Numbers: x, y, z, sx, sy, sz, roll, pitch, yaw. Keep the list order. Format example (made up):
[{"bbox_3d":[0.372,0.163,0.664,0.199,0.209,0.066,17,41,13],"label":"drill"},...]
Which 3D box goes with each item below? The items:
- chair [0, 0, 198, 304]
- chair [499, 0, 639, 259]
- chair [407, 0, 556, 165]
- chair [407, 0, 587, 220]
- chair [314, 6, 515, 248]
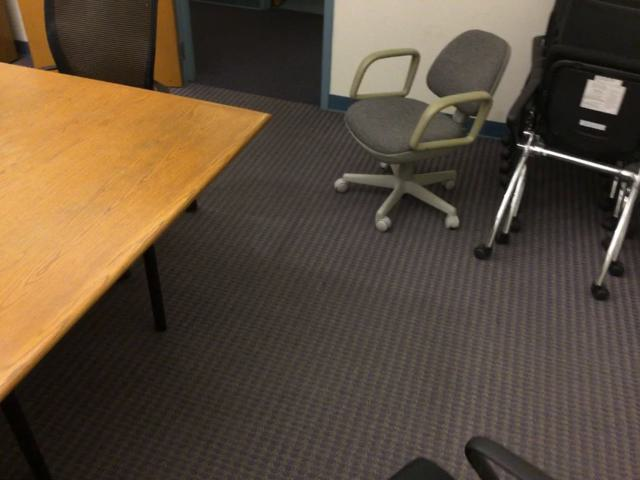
[{"bbox_3d":[-0.930,-0.370,2.140,0.630,0.910,0.630,11,39,13],"label":"chair"},{"bbox_3d":[1.070,-0.490,2.270,0.470,0.990,0.430,14,40,17],"label":"chair"},{"bbox_3d":[0.780,-0.990,2.780,0.550,1.140,0.370,11,39,13],"label":"chair"},{"bbox_3d":[0.660,-0.610,2.260,0.490,1.000,0.290,11,39,13],"label":"chair"},{"bbox_3d":[0.400,-0.510,2.510,0.670,0.720,0.670,11,39,13],"label":"chair"}]
